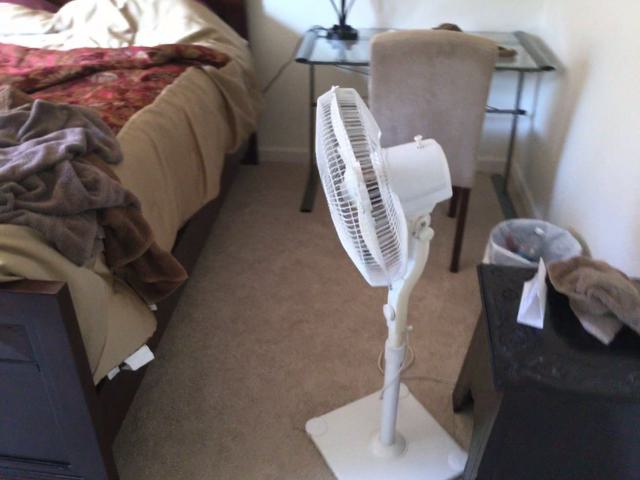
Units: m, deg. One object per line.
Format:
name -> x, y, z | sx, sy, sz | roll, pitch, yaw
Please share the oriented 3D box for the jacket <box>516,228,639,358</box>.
jacket -> 0.660, 0.120, 1.350 | 0.340, 0.110, 0.300 | 8, 33, 7
